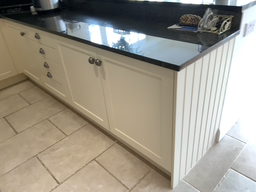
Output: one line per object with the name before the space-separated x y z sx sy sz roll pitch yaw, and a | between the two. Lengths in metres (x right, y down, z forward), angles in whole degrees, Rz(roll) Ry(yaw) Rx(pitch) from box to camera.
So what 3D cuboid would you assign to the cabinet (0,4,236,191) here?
cabinet | -0.410 -0.300 2.080 0.600 0.880 2.470 -31 40 -34
